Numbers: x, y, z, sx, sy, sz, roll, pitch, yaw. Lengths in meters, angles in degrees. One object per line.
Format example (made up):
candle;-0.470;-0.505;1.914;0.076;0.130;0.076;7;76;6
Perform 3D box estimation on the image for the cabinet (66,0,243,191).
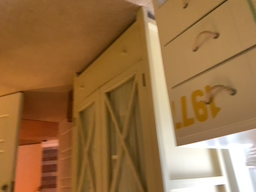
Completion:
cabinet;0.080;0.580;1.380;0.650;1.980;0.980;9;154;-33
